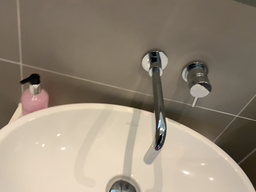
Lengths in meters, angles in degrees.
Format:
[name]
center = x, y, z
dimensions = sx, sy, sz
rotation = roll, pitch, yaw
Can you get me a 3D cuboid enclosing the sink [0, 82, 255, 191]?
[sink]
center = 0.000, 0.190, 0.470
dimensions = 0.580, 0.110, 0.370
rotation = 12, 41, -10
